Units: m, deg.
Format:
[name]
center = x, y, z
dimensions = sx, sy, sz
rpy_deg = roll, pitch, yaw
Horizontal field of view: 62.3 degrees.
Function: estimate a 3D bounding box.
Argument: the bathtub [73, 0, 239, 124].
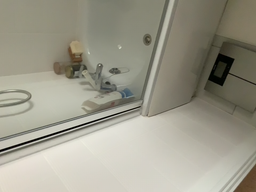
[bathtub]
center = 0.200, -0.800, 1.070
dimensions = 0.700, 0.530, 1.670
rpy_deg = 32, 122, 37
